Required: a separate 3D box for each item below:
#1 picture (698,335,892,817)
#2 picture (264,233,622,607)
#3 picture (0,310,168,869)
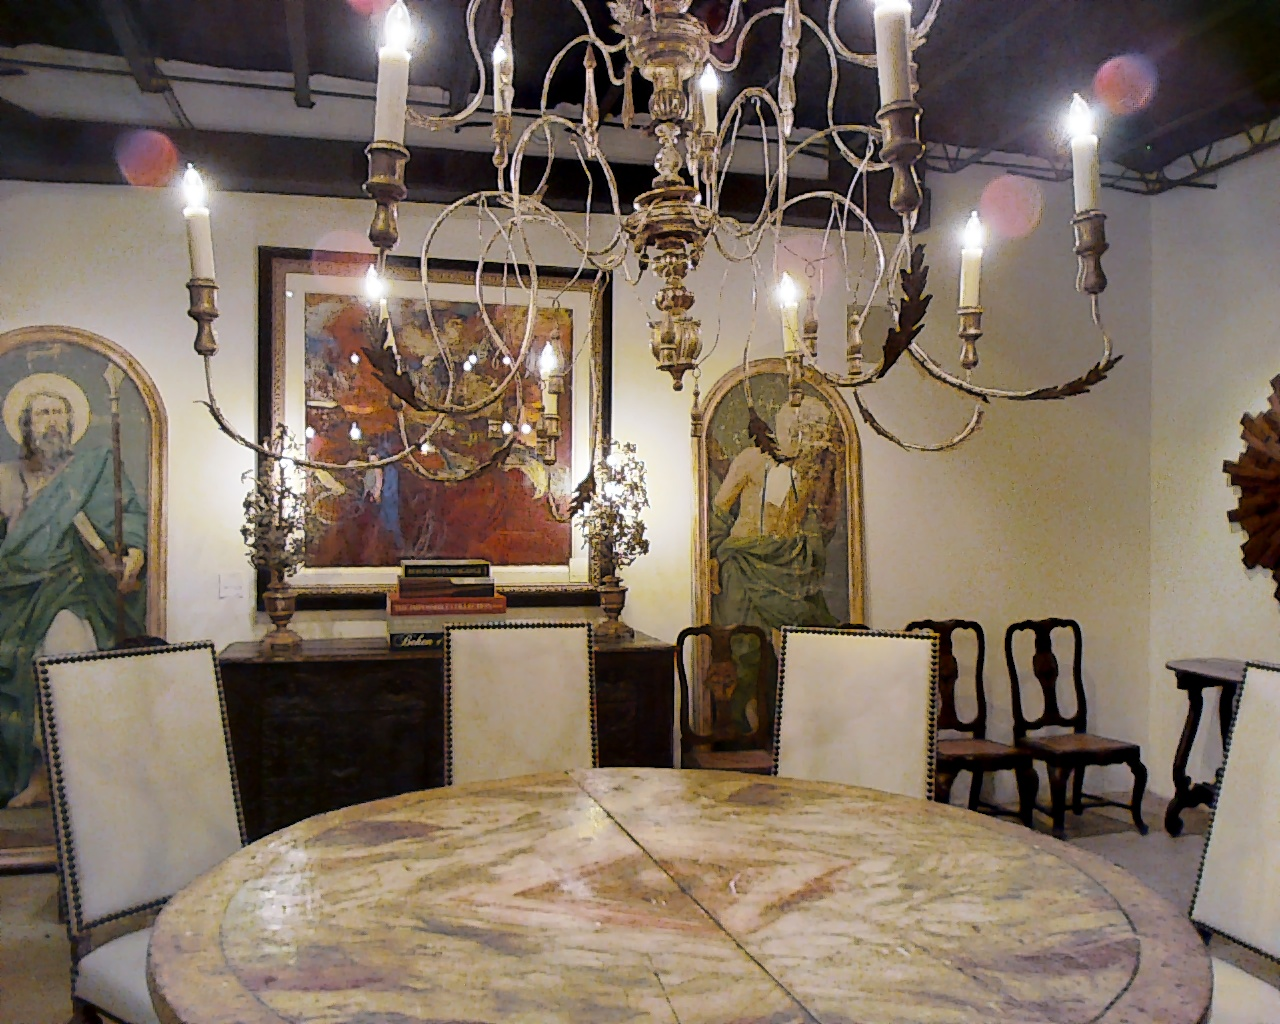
[{"bbox_3d":[0.770,0.330,5.350,0.910,2.350,0.090,0,5,-15],"label":"picture"},{"bbox_3d":[-0.880,-0.400,4.960,1.610,1.630,0.130,0,0,-16],"label":"picture"},{"bbox_3d":[-2.470,0.330,4.540,0.870,2.330,0.050,0,2,-16],"label":"picture"}]
